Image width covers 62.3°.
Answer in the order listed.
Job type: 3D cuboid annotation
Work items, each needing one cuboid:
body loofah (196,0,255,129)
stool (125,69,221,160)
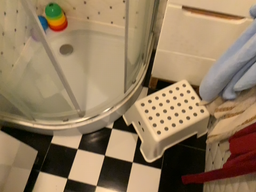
[{"bbox_3d":[0.400,-0.300,0.360,0.160,1.250,0.340,10,65,3],"label":"body loofah"},{"bbox_3d":[0.230,0.110,1.220,0.380,0.260,0.320,-26,68,-13],"label":"stool"}]
